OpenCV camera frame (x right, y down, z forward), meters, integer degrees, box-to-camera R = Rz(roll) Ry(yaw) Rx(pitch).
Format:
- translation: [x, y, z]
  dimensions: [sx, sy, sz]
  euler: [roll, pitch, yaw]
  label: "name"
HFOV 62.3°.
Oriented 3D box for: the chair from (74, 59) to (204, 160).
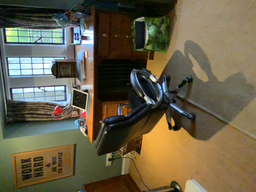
- translation: [0.060, 0.100, 2.240]
  dimensions: [0.720, 1.030, 0.640]
  euler: [68, 149, 30]
  label: "chair"
